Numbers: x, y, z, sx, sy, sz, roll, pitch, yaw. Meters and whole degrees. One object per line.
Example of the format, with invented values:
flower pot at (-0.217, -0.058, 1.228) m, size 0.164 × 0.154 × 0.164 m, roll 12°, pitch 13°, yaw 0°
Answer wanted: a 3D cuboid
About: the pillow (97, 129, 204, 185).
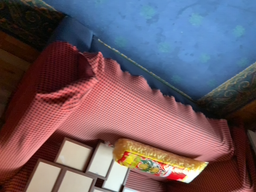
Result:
pillow at (0.150, 0.390, 1.290) m, size 0.640 × 0.110 × 0.190 m, roll 23°, pitch 131°, yaw -22°
